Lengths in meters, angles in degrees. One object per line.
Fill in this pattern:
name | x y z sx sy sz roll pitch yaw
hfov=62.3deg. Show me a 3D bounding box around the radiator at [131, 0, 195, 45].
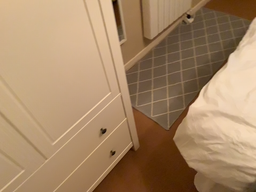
radiator | 0.360 -0.940 1.920 0.810 0.630 0.090 -39 56 -22
